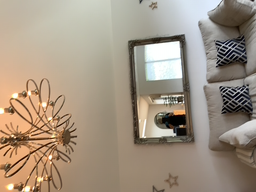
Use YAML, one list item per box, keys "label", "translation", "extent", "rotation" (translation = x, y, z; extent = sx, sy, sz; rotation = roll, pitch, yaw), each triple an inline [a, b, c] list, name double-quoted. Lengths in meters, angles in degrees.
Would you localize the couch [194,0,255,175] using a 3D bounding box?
- label: "couch"
  translation: [1.550, -0.260, 2.820]
  extent: [1.040, 0.950, 2.250]
  rotation: [30, -124, -80]
